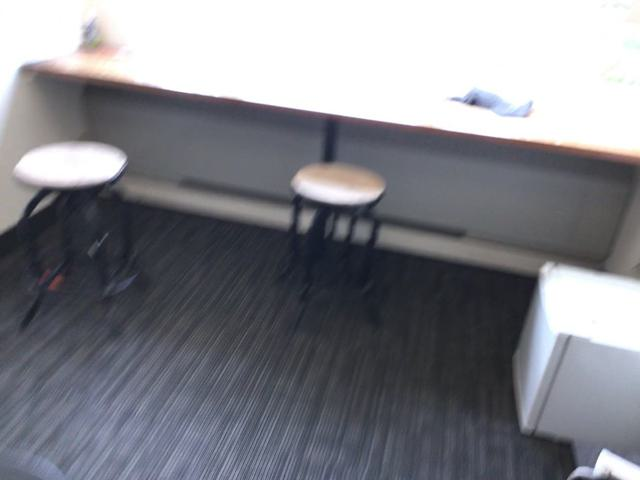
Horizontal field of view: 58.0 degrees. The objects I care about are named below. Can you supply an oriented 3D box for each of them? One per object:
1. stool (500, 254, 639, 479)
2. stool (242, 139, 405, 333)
[{"bbox_3d":[0.930,0.420,2.030,0.460,0.520,0.500,10,23,11],"label":"stool"},{"bbox_3d":[0.030,-0.050,2.500,0.530,0.590,0.590,10,23,11],"label":"stool"}]
